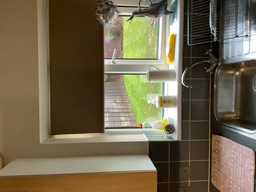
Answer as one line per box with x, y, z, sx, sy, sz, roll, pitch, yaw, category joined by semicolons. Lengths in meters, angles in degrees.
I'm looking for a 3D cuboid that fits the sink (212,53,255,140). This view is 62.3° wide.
0.730;-0.010;1.250;0.440;0.260;0.420;-148;58;-83;sink
